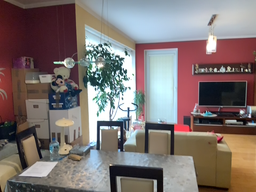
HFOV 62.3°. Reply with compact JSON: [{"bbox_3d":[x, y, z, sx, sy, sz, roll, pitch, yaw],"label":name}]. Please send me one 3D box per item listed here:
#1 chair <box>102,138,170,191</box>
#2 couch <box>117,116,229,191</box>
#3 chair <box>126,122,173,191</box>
[{"bbox_3d":[0.100,0.900,1.560,0.380,1.020,0.550,1,7,14],"label":"chair"},{"bbox_3d":[0.690,0.820,3.400,1.520,0.760,0.920,1,7,15],"label":"couch"},{"bbox_3d":[0.240,0.840,2.120,0.380,1.030,0.550,1,6,13],"label":"chair"}]
